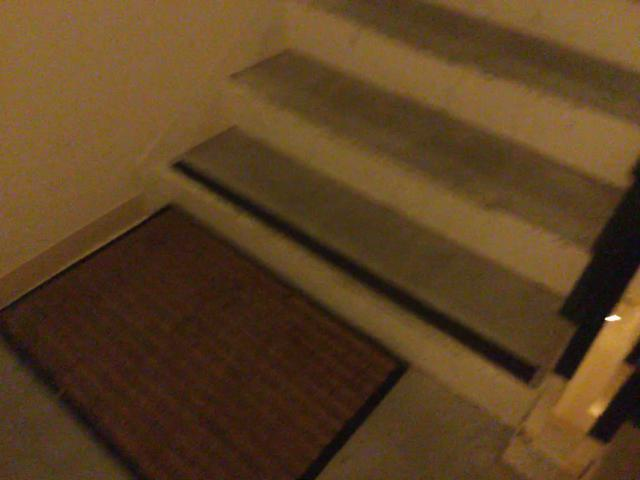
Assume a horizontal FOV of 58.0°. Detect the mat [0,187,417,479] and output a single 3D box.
[{"bbox_3d":[-0.310,0.250,1.400,0.880,0.100,0.610,29,55,27],"label":"mat"}]
